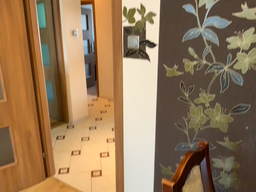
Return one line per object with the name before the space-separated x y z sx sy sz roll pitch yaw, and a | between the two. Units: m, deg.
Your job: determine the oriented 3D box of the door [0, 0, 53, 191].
door | -1.120 -0.090 1.570 0.910 1.890 0.170 -14 22 -39
